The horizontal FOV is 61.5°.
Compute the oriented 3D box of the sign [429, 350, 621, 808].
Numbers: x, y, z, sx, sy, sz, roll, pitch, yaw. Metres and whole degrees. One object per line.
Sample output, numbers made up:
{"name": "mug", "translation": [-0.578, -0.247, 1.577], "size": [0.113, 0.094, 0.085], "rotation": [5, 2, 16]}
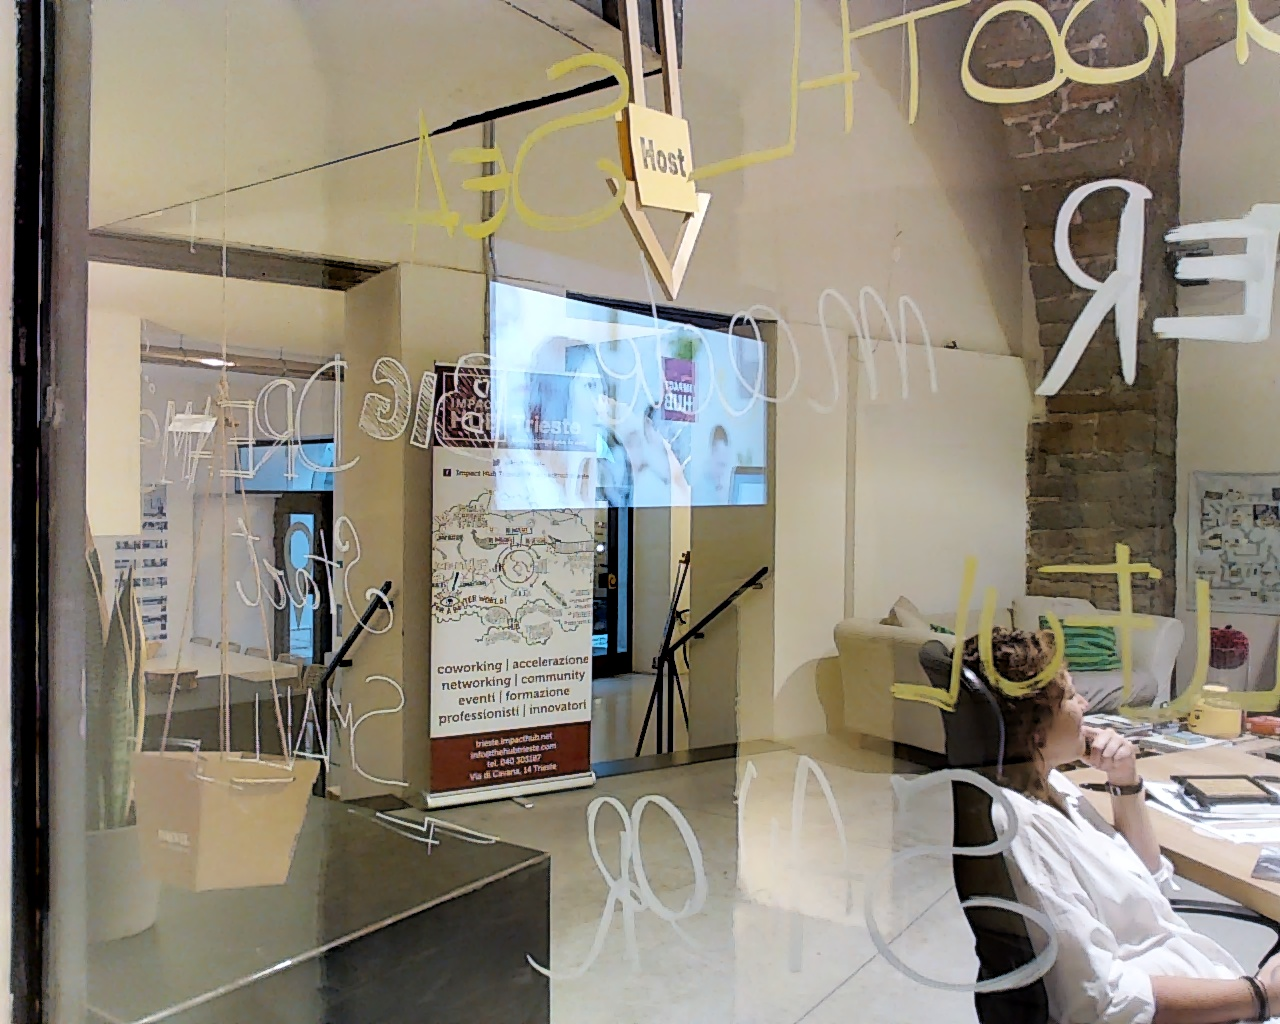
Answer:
{"name": "sign", "translation": [-0.550, 0.310, 5.270], "size": [0.920, 2.101, 0.200], "rotation": [0, 0, -32]}

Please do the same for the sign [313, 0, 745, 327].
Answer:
{"name": "sign", "translation": [-0.140, -0.910, 2.200], "size": [0.130, 0.890, 1.160], "rotation": [1, 0, 36]}
